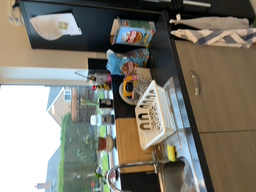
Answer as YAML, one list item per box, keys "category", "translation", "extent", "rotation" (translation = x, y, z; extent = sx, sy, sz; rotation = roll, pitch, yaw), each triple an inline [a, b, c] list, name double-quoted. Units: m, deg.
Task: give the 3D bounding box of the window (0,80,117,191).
- category: "window"
  translation: [-0.610, 0.660, 1.540]
  extent: [0.120, 1.050, 1.670]
  rotation: [123, 145, -62]
